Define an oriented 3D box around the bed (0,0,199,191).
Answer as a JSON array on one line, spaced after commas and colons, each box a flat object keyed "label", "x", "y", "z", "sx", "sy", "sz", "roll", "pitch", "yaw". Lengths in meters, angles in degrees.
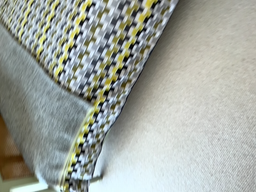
[{"label": "bed", "x": -0.570, "y": -0.700, "z": 1.740, "sx": 1.990, "sy": 0.580, "sz": 2.230, "roll": 37, "pitch": 110, "yaw": 37}]
